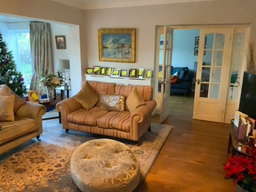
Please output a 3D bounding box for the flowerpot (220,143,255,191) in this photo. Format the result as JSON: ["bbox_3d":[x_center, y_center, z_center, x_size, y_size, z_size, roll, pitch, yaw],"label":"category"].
[{"bbox_3d":[1.290,0.850,2.230,0.540,0.450,0.470,7,14,27],"label":"flowerpot"}]
